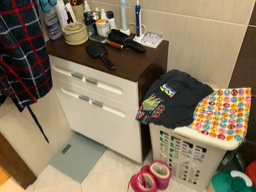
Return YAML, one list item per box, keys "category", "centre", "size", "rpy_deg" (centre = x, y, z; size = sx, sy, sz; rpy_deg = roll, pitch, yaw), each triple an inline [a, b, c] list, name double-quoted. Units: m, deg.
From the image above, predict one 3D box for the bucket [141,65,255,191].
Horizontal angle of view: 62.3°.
- category: "bucket"
  centre: [0.360, 0.230, 1.190]
  size: [0.450, 0.620, 0.340]
  rpy_deg: [22, 50, 26]
